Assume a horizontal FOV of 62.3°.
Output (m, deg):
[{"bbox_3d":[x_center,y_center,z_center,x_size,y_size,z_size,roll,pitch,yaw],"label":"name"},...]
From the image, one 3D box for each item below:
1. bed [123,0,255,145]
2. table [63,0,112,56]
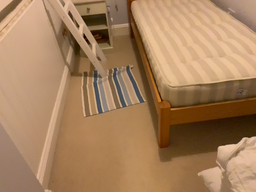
[{"bbox_3d":[0.600,-0.570,2.260,1.040,0.510,2.130,-8,40,-3],"label":"bed"},{"bbox_3d":[-0.490,-0.950,2.720,0.450,0.680,0.420,-8,40,-3],"label":"table"}]
